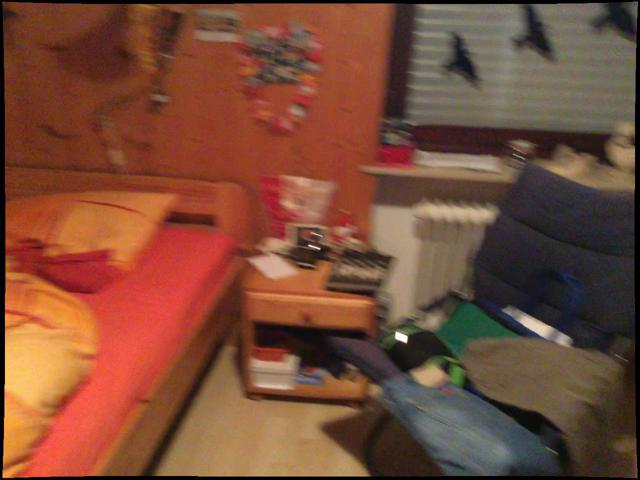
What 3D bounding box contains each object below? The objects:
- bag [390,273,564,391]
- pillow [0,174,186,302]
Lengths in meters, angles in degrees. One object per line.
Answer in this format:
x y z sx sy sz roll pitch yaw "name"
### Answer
0.480 0.280 1.850 0.480 0.180 0.310 5 25 9 "bag"
-0.959 -0.040 2.070 0.749 0.160 0.610 5 25 9 "pillow"
